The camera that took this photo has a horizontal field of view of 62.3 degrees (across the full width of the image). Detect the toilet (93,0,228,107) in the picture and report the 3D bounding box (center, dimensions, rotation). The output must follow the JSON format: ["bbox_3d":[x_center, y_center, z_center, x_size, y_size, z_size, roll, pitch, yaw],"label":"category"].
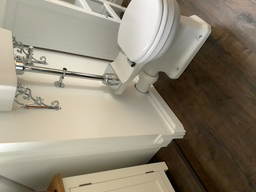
[{"bbox_3d":[0.170,-0.310,1.410,0.690,0.490,0.380,-58,44,31],"label":"toilet"}]
